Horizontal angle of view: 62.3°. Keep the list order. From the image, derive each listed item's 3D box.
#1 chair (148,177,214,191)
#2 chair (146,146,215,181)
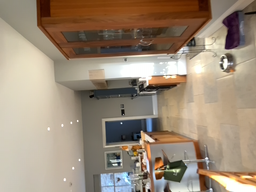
[{"bbox_3d":[0.940,1.790,3.770,0.380,1.070,0.480,92,173,-52],"label":"chair"},{"bbox_3d":[0.910,1.200,3.860,0.530,1.060,0.490,105,161,-76],"label":"chair"}]
